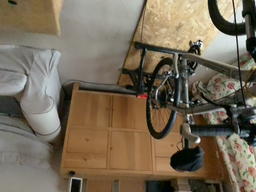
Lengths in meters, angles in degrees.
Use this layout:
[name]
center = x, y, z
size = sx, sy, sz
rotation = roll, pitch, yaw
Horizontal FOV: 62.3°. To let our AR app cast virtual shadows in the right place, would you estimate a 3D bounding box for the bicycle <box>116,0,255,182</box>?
[bicycle]
center = 0.370, -0.110, 1.290
size = 0.590, 0.960, 1.600
rotation = 6, 149, -12
